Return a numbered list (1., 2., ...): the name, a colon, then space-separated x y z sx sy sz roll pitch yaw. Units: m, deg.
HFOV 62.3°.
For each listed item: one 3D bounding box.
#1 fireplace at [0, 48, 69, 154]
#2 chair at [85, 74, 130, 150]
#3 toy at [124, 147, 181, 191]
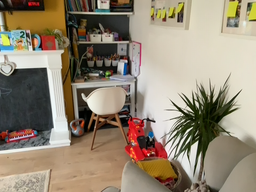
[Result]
1. fireplace: -1.430 0.060 2.550 1.310 1.180 0.430 -4 21 -14
2. chair: -0.290 0.180 2.820 0.500 0.810 0.580 -3 21 -12
3. toy: 0.180 0.740 1.860 0.400 0.380 0.440 -1 20 -6
